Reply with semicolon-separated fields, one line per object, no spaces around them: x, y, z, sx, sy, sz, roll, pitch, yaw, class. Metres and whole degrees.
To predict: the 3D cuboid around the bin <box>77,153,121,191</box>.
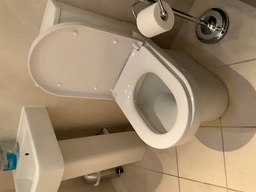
-0.250;0.650;1.810;0.170;0.280;0.210;49;125;40;bin
